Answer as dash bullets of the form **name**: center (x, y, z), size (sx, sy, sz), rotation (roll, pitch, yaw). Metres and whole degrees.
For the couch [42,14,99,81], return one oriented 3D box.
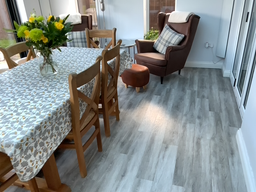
- **couch**: center (-1.000, -0.950, 3.970), size (0.780, 0.980, 0.930), rotation (-6, 28, -7)

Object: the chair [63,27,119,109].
- **chair**: center (-0.450, -0.390, 2.860), size (0.470, 0.930, 0.530), rotation (7, 29, 16)

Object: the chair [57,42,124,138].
- **chair**: center (-0.350, -0.070, 2.270), size (0.490, 0.910, 0.420), rotation (5, 28, 13)

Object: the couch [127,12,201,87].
- **couch**: center (0.600, -0.850, 3.630), size (0.930, 0.990, 0.740), rotation (-24, 34, -35)

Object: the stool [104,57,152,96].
- **stool**: center (0.000, -0.330, 3.350), size (0.650, 0.380, 0.390), rotation (23, 36, 39)

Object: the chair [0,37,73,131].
- **chair**: center (-1.020, -0.140, 2.410), size (0.490, 0.940, 0.430), rotation (6, 29, 15)
